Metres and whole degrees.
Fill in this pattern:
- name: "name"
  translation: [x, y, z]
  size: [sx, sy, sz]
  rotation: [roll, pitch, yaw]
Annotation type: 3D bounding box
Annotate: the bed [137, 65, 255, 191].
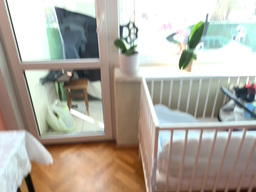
- name: "bed"
  translation: [0.710, 0.370, 1.520]
  size: [1.210, 1.000, 0.630]
  rotation: [-2, 29, -4]
